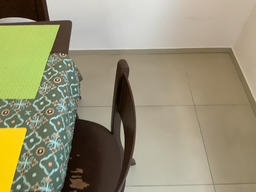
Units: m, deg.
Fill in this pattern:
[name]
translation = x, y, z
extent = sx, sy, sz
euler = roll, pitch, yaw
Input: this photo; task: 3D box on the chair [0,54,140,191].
[chair]
translation = -0.200, 0.270, 0.780
extent = 0.440, 0.770, 0.380
euler = 2, 54, 1
